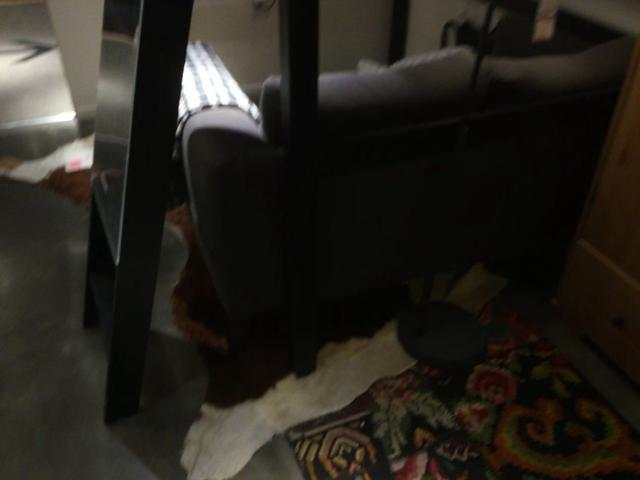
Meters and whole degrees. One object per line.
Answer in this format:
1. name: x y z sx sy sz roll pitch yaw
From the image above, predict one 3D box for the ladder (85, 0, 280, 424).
1. ladder: -0.310 -0.530 1.180 0.320 2.100 0.520 -2 36 -21
